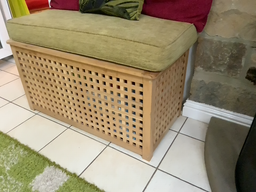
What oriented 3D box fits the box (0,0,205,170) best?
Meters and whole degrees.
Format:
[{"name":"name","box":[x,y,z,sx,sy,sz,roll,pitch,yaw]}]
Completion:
[{"name":"box","box":[-0.200,-0.170,1.280,1.060,0.630,0.510,18,37,27]}]
